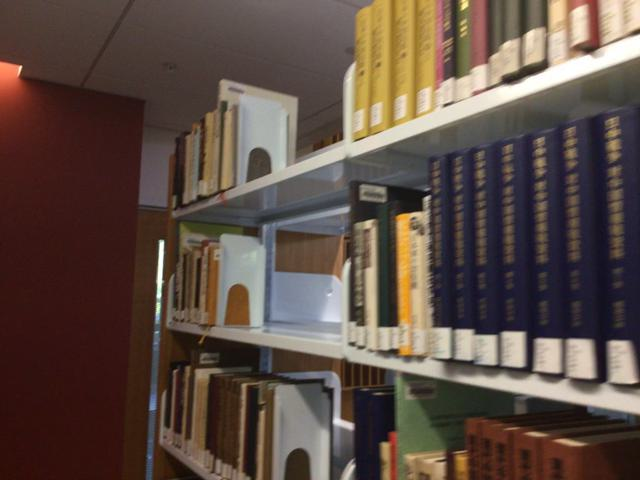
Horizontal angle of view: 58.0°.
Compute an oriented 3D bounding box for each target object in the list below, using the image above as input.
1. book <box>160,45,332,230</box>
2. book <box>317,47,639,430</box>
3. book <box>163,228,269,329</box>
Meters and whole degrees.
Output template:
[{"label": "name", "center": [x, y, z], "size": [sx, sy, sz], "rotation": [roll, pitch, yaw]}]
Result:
[{"label": "book", "center": [-0.210, -0.230, 1.520], "size": [0.260, 0.330, 0.470], "rotation": [6, -9, -32]}, {"label": "book", "center": [0.310, 0.020, 0.680], "size": [0.260, 0.330, 0.750], "rotation": [6, -9, -32]}, {"label": "book", "center": [-0.280, 0.110, 1.510], "size": [0.140, 0.230, 0.340], "rotation": [7, -9, -33]}]
